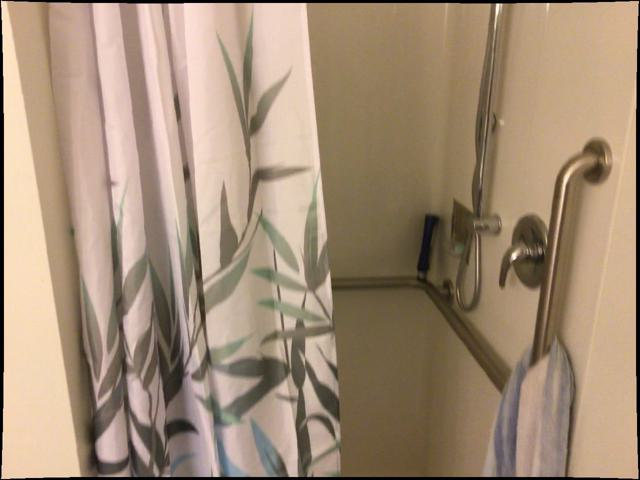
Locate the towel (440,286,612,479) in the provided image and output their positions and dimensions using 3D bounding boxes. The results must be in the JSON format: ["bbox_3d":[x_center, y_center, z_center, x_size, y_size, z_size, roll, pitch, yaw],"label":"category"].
[{"bbox_3d":[0.429,0.581,1.330,0.190,0.852,0.380,-6,18,-6],"label":"towel"}]

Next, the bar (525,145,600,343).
[{"bbox_3d":[0.469,0.010,1.130,0.080,0.371,0.090,-6,18,-6],"label":"bar"}]
